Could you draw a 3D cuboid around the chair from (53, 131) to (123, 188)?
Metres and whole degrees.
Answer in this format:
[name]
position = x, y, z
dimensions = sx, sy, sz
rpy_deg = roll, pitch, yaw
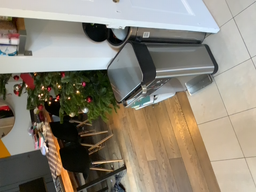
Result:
[chair]
position = -0.570, 0.870, 2.950
dimensions = 0.530, 0.760, 0.440
rpy_deg = -53, 52, 47
